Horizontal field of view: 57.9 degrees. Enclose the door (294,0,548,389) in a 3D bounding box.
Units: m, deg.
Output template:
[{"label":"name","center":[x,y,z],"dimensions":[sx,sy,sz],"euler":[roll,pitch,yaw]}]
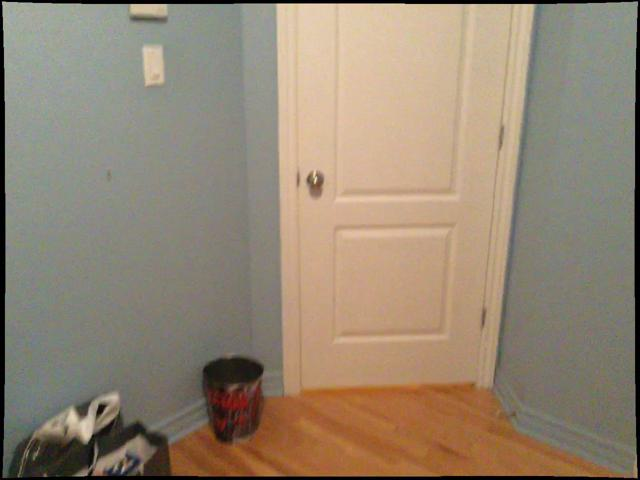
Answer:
[{"label":"door","center":[0.340,-0.370,2.150],"dimensions":[0.859,2.062,0.110],"euler":[0,19,-1]}]
